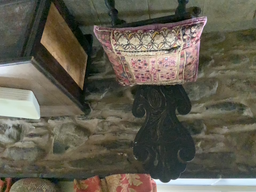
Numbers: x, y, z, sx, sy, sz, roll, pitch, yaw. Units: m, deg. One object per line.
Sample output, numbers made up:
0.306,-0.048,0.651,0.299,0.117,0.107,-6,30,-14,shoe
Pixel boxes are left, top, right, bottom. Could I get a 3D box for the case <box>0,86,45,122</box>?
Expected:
-0.610,0.040,1.040,0.330,0.050,0.300,6,153,-9,case
